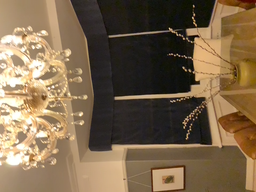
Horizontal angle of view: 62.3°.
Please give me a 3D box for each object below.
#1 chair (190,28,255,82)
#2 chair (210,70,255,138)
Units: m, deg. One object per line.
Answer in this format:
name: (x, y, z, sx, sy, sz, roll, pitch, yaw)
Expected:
chair: (1.460, -0.540, 3.000, 0.680, 0.990, 0.630, -26, -68, -83)
chair: (1.460, 0.050, 2.360, 0.540, 0.900, 0.620, -67, -27, -76)
